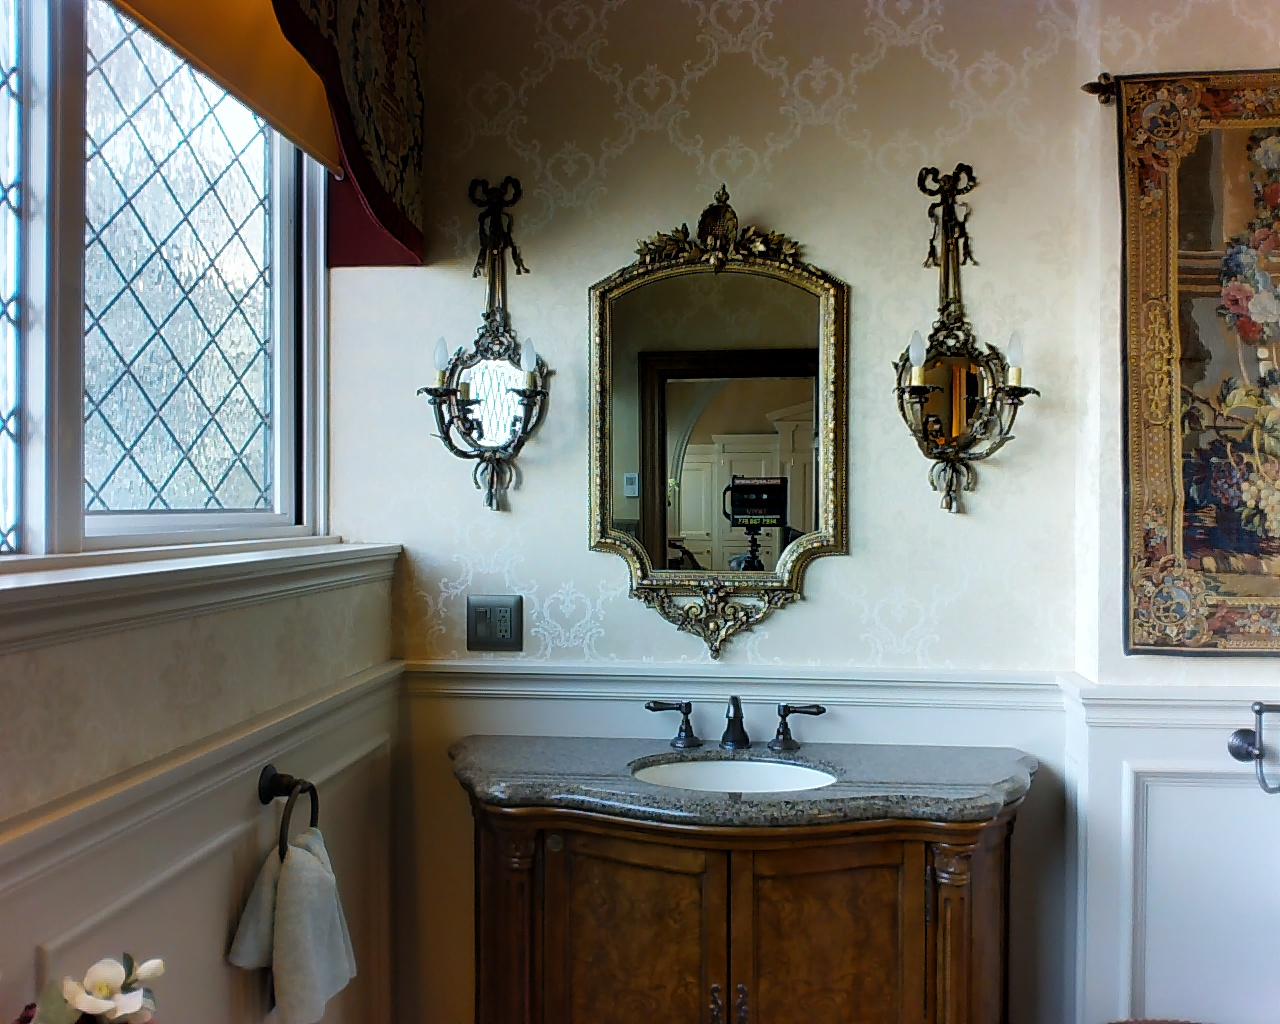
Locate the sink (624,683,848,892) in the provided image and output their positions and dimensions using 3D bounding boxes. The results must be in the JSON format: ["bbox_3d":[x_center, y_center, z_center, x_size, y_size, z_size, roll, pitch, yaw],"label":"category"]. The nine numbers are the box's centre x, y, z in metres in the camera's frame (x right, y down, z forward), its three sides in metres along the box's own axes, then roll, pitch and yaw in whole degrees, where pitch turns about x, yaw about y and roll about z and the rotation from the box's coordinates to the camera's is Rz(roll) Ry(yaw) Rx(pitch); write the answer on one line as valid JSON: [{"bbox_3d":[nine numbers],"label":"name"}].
[{"bbox_3d":[0.190,0.510,2.070,0.390,0.290,0.370,0,1,7],"label":"sink"}]

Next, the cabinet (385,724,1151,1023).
[{"bbox_3d":[0.210,0.940,2.000,1.250,0.960,0.460,0,1,7],"label":"cabinet"}]
